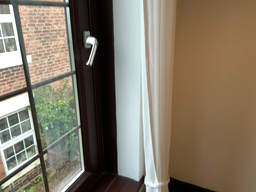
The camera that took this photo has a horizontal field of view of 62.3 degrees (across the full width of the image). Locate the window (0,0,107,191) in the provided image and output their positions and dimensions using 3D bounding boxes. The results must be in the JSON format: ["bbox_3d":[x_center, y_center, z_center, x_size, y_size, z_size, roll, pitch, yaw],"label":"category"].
[{"bbox_3d":[-0.360,-0.130,0.600,0.090,1.590,0.870,11,24,25],"label":"window"}]
